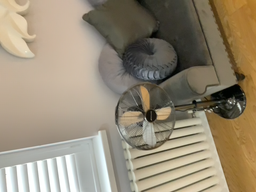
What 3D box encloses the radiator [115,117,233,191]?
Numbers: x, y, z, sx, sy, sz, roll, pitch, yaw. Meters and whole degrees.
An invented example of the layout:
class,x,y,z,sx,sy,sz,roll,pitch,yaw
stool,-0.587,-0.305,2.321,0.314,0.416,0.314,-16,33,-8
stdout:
class,x,y,z,sx,sy,sz,roll,pitch,yaw
radiator,0.400,0.750,1.330,0.090,0.780,1.160,-34,65,55
